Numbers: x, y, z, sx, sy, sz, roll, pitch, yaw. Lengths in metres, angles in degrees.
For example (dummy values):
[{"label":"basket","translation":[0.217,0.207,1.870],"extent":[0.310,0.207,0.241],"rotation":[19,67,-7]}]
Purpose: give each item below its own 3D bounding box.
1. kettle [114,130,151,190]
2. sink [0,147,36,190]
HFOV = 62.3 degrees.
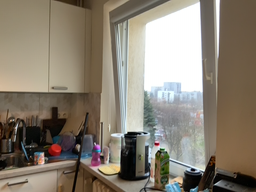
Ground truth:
[{"label":"kettle","translation":[0.030,0.450,1.550],"extent":[0.200,0.360,0.160],"rotation":[1,1,-37]},{"label":"sink","translation":[-1.080,0.600,1.780],"extent":[0.450,0.170,0.520],"rotation":[1,1,-36]}]
